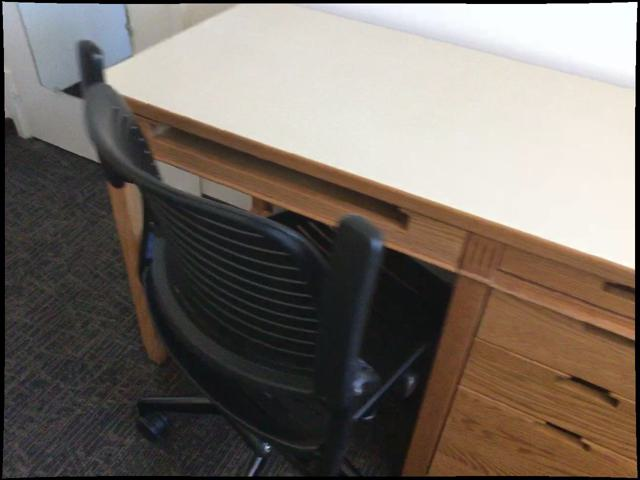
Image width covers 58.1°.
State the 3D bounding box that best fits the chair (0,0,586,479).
[{"bbox_3d":[-0.050,0.110,1.090,0.669,0.901,0.620,21,43,19],"label":"chair"}]

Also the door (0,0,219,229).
[{"bbox_3d":[-0.738,-0.732,1.690,0.908,1.322,0.130,22,43,17],"label":"door"}]
